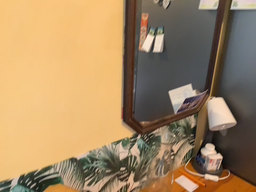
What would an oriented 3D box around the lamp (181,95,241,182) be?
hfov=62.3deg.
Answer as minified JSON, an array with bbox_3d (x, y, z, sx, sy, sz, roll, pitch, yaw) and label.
[{"bbox_3d":[0.380,0.190,1.000,0.130,0.340,0.170,-14,25,-39],"label":"lamp"}]
